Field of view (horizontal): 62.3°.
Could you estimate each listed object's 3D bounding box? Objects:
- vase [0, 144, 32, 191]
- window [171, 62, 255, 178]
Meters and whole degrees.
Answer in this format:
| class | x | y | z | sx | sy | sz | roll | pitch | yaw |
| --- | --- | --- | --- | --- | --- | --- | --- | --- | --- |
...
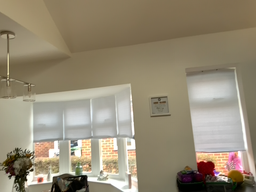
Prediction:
| class | x | y | z | sx | sy | sz | roll | pitch | yaw |
| --- | --- | --- | --- | --- | --- | --- | --- | --- | --- |
| vase | -1.020 | 0.730 | 1.900 | 0.270 | 0.550 | 0.260 | 0 | -9 | -28 |
| window | 0.980 | 0.280 | 2.530 | 0.790 | 1.290 | 0.130 | -5 | -8 | 9 |
